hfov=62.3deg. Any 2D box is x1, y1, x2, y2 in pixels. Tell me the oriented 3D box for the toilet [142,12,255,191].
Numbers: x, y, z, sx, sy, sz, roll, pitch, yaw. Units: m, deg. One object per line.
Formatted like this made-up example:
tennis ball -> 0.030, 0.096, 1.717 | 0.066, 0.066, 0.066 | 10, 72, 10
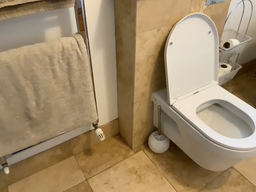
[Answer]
toilet -> 0.410, 0.080, 1.140 | 0.380, 0.830, 0.560 | -20, 43, -24
